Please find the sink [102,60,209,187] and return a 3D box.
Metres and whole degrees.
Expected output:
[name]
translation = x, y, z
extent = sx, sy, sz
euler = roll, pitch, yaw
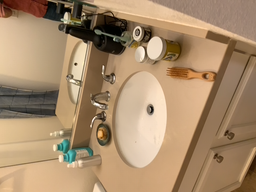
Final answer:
[sink]
translation = 0.090, 0.100, 0.950
extent = 0.340, 0.190, 0.420
euler = 35, 116, 48
